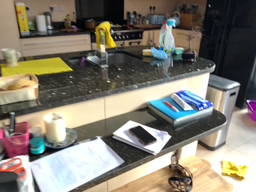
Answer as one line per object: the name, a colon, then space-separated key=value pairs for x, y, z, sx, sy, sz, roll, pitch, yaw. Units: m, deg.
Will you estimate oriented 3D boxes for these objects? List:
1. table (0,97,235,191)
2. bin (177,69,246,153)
table: x=-0.030 y=0.530 z=1.120 sx=1.180 sy=0.760 sz=0.340 roll=-13 pitch=28 yaw=-29
bin: x=0.800 y=0.130 z=2.130 sx=0.280 sy=0.670 sz=0.460 roll=-14 pitch=28 yaw=-30
